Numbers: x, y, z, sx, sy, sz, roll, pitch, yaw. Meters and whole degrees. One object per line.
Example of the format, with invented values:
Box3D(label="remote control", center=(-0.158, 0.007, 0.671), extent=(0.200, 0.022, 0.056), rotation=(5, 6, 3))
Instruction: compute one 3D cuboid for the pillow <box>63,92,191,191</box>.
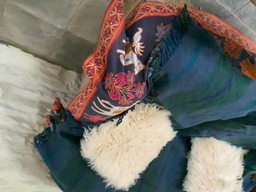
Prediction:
Box3D(label="pillow", center=(0.030, 0.250, 1.050), extent=(0.170, 0.470, 0.530), rotation=(-51, 152, 5))
